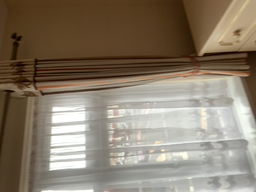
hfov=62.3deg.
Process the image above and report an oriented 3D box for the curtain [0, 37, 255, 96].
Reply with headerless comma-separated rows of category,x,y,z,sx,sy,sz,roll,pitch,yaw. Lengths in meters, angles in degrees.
curtain,-0.030,-0.210,1.440,0.170,1.760,0.290,100,166,-66
